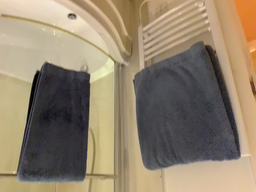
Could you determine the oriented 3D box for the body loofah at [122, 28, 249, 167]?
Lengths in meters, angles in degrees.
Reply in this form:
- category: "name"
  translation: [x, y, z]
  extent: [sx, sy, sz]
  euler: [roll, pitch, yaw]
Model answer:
- category: "body loofah"
  translation: [0.190, 0.030, 0.910]
  extent: [0.470, 0.480, 0.090]
  euler: [-20, -28, 35]
